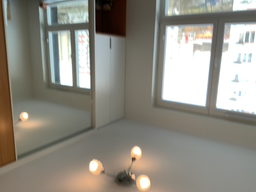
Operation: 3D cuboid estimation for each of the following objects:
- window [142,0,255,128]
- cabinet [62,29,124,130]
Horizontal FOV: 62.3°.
[{"bbox_3d":[1.100,-0.650,2.840,1.920,1.920,0.180,10,-166,33],"label":"window"},{"bbox_3d":[-0.530,-0.290,3.390,0.520,1.400,0.800,10,-166,33],"label":"cabinet"}]
